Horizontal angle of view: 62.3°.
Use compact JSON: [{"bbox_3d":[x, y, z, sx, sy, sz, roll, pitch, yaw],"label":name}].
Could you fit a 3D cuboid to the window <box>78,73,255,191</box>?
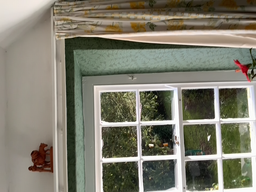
[{"bbox_3d":[0.320,0.350,1.530,0.370,1.250,0.940,141,126,-84],"label":"window"}]
